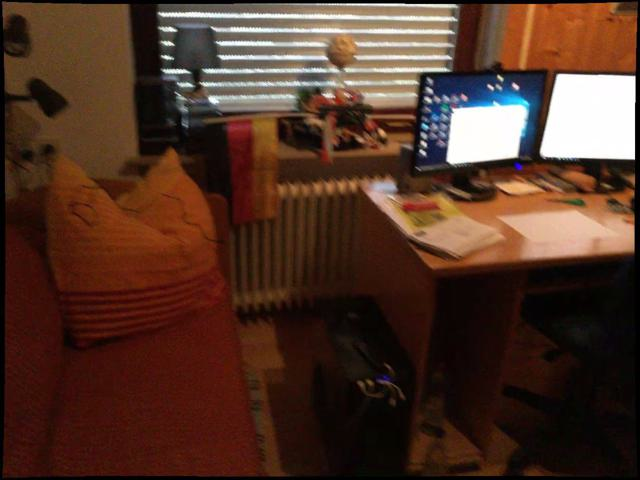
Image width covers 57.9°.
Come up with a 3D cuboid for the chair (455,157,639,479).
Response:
[{"bbox_3d":[0.919,0.300,1.800,0.639,0.941,0.630,-5,27,-14],"label":"chair"}]

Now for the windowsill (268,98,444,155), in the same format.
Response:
[{"bbox_3d":[0.140,-0.480,2.400,0.679,0.150,0.250,-5,27,-14],"label":"windowsill"}]
